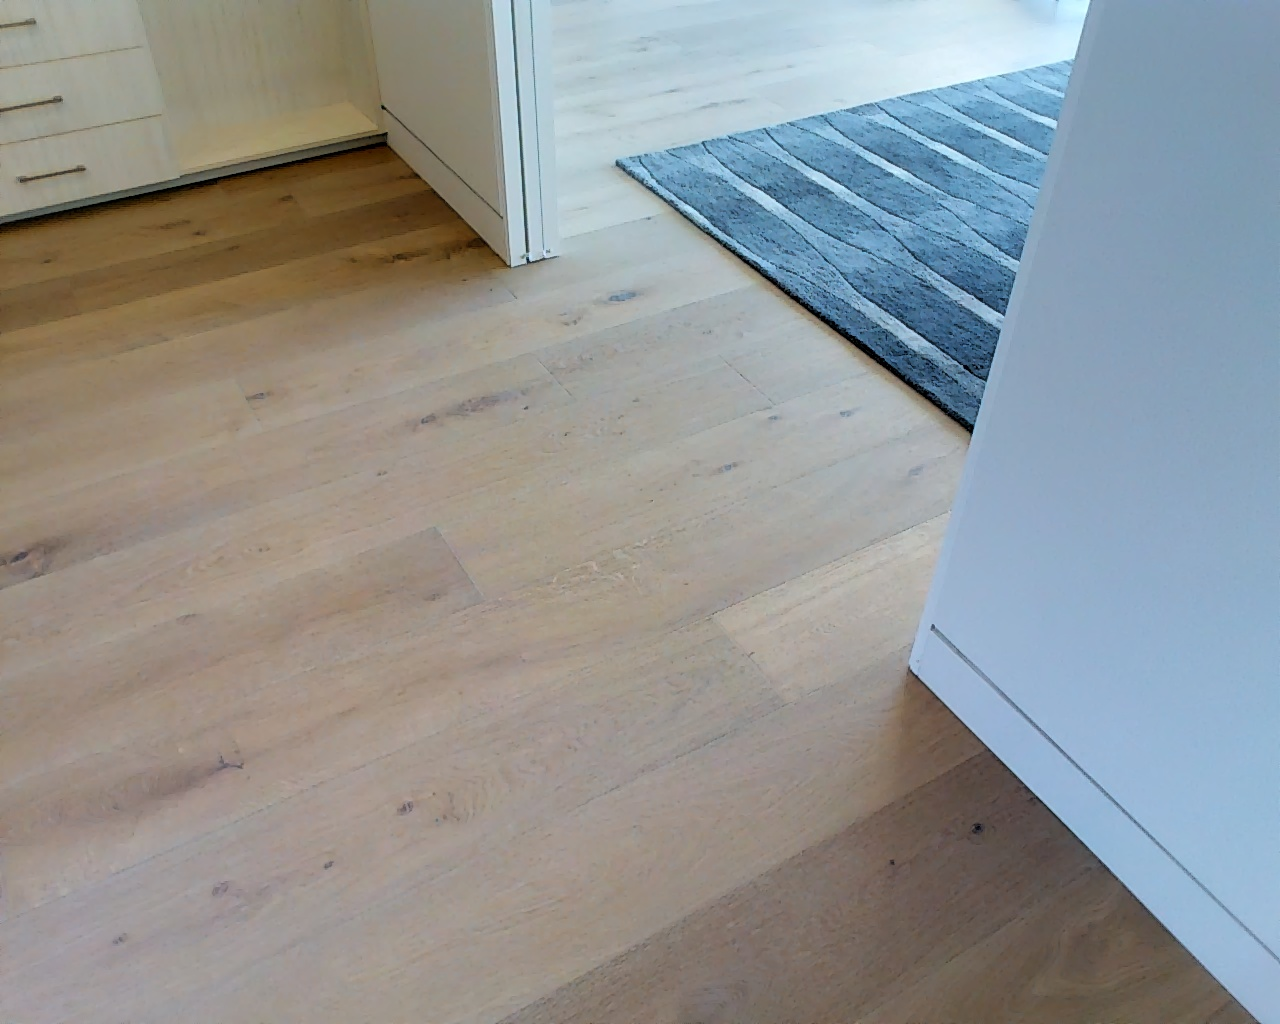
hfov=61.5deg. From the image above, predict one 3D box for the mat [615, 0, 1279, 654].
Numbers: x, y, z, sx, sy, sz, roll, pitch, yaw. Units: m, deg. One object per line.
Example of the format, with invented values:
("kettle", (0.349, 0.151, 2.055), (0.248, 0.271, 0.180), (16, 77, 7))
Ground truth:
("mat", (2.210, -1.050, 3.580), (3.680, 0.040, 2.810), (-21, 46, -23))
